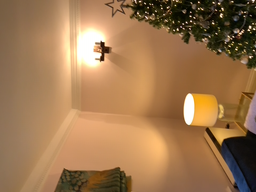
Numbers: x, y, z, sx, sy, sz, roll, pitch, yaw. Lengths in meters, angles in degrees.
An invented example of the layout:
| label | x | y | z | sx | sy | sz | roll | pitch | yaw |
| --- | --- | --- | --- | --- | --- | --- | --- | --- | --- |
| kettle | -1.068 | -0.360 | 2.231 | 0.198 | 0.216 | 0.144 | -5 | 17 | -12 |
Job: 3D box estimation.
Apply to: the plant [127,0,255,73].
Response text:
| label | x | y | z | sx | sy | sz | roll | pitch | yaw |
| --- | --- | --- | --- | --- | --- | --- | --- | --- | --- |
| plant | 0.860 | -0.730 | 1.850 | 0.800 | 1.660 | 0.840 | -89 | 5 | -69 |
